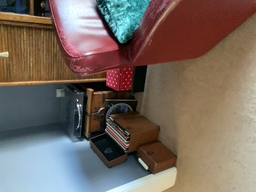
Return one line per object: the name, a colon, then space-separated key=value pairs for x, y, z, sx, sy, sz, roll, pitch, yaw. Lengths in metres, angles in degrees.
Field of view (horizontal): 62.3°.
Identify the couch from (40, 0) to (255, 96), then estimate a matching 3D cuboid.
couch: x=0.090 y=-0.580 z=1.130 sx=0.860 sy=0.820 sz=0.780 roll=-45 pitch=59 yaw=47
